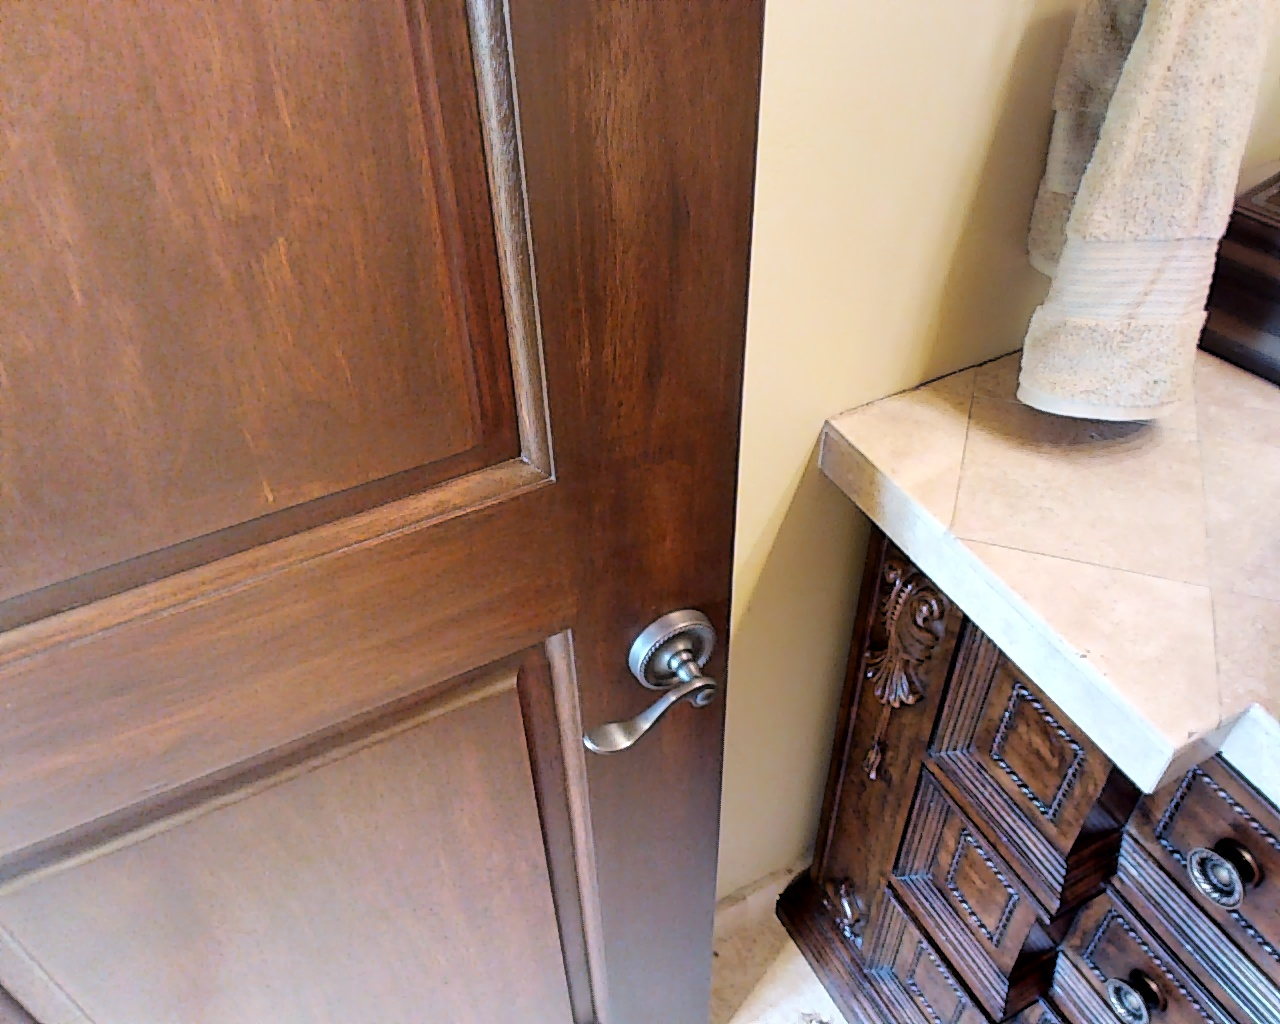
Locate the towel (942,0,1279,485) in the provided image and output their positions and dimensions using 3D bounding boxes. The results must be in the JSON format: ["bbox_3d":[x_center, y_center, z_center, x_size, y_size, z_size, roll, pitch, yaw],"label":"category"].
[{"bbox_3d":[0.420,-0.270,0.870,0.200,0.430,0.190,-20,46,-18],"label":"towel"}]
